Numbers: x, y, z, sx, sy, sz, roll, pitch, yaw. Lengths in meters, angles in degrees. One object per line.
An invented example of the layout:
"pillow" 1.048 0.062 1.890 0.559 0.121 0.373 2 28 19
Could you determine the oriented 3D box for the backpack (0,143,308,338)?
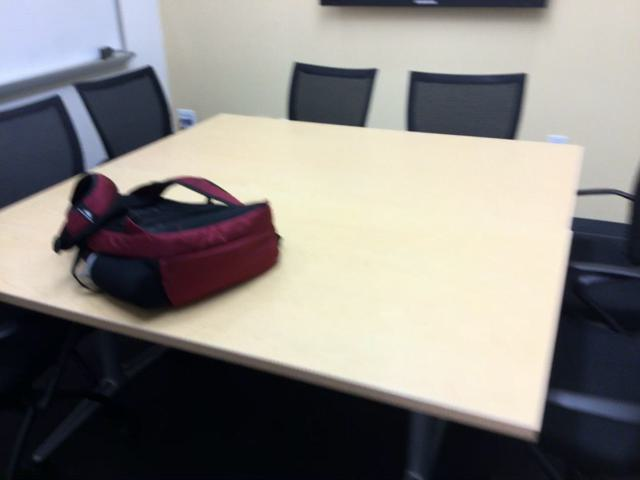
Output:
"backpack" -0.350 -0.040 1.340 0.490 0.220 0.480 9 26 20
